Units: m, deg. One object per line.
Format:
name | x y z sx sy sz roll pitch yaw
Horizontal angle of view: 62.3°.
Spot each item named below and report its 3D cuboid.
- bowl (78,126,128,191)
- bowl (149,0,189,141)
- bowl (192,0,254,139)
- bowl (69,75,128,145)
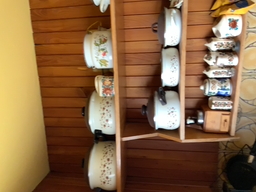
bowl | -0.110 0.330 1.070 0.220 0.190 0.280 -59 -30 -74
bowl | 0.170 -0.190 0.930 0.220 0.140 0.730 -59 -30 -74
bowl | 0.400 -0.180 0.930 0.170 0.170 0.710 -59 -30 -74
bowl | -0.120 0.050 0.990 0.220 0.210 0.270 -58 -31 -74
